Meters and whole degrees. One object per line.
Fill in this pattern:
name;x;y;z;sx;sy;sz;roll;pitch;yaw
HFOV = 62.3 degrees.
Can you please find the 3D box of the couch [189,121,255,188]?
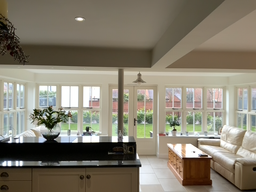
couch;2.330;1.170;4.870;1.040;0.950;2.030;1;0;-8
